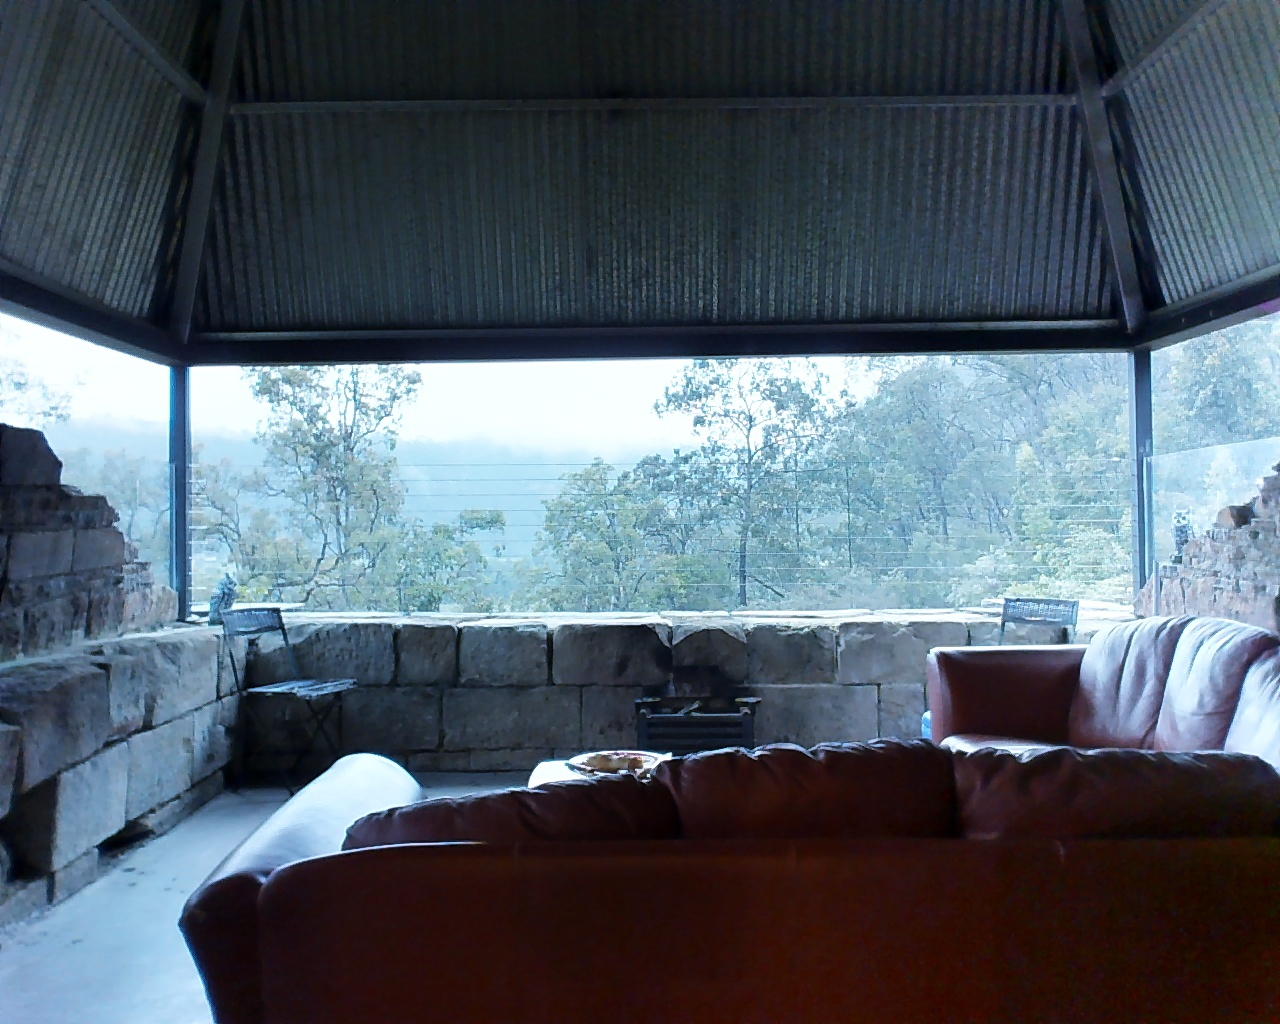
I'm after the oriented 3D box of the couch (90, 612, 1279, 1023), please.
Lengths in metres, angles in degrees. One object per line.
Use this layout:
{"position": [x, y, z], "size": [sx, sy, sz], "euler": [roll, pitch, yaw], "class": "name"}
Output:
{"position": [0.600, 0.810, 2.760], "size": [2.599, 0.900, 2.790], "euler": [0, -1, 0], "class": "couch"}
